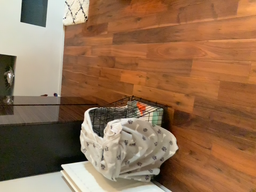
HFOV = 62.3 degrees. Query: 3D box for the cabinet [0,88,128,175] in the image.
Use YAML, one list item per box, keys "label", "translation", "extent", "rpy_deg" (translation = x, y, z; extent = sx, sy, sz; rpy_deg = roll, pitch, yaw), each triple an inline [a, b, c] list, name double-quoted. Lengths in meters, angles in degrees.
- label: "cabinet"
  translation: [-0.900, 0.260, 2.240]
  extent: [1.170, 1.320, 0.460]
  rpy_deg: [18, 102, 51]
